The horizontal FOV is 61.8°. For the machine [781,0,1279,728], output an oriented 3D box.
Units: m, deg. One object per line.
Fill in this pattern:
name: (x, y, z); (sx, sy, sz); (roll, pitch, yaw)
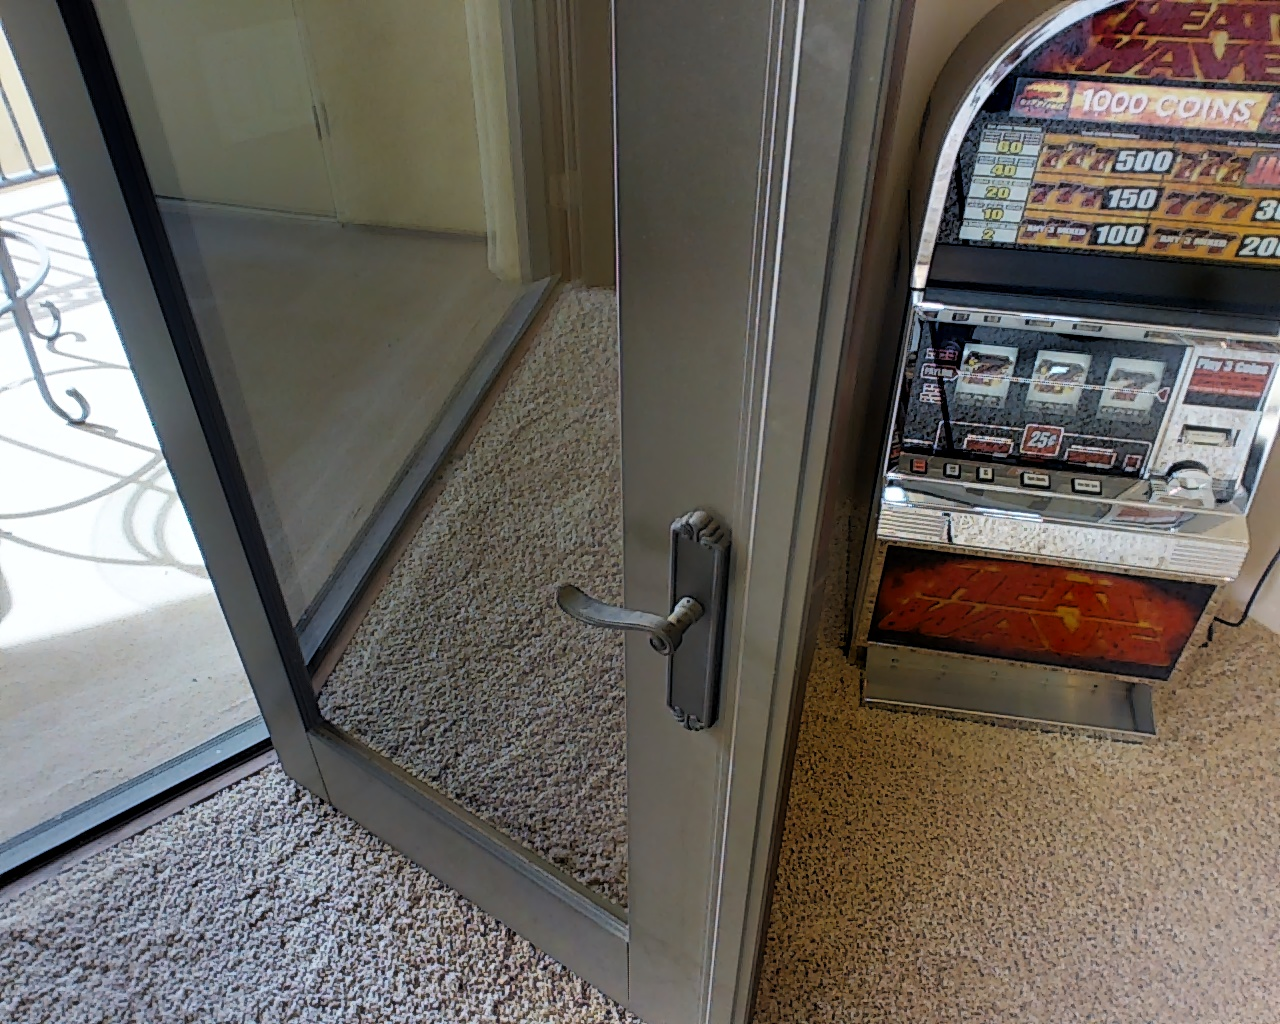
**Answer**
machine: (0.640, -0.250, 1.680); (0.720, 1.150, 0.500); (5, 43, 6)
